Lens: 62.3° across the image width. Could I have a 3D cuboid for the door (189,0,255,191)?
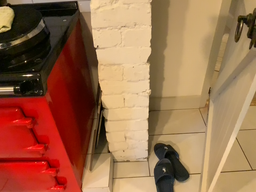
[{"bbox_3d":[0.450,-0.340,0.790,0.080,2.020,0.840,12,42,17],"label":"door"}]
